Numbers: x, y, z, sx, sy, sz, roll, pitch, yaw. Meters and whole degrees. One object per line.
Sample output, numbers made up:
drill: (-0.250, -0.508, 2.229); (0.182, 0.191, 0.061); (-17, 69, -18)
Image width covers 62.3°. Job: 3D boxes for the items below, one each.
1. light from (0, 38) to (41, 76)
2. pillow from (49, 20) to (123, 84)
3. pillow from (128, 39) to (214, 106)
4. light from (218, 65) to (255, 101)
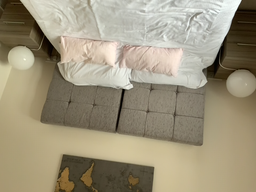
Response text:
light: (-1.100, -0.390, 2.170); (0.250, 0.240, 0.280); (9, 163, 2)
pillow: (-0.370, -0.400, 1.920); (0.610, 0.250, 0.200); (33, 159, 13)
pillow: (0.380, -0.220, 1.960); (0.660, 0.340, 0.230); (22, 160, 12)
light: (1.020, -0.110, 1.960); (0.260, 0.210, 0.300); (7, 163, 8)
